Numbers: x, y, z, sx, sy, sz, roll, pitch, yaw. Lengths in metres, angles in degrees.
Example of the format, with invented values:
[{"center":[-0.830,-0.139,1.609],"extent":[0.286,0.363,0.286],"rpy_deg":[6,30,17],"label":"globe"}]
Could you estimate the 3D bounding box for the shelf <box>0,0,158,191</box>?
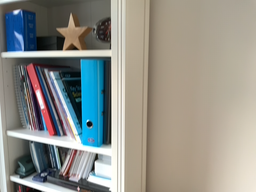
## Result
[{"center":[-0.260,0.460,1.020],"extent":[0.680,1.900,0.370],"rpy_deg":[4,8,23],"label":"shelf"}]
